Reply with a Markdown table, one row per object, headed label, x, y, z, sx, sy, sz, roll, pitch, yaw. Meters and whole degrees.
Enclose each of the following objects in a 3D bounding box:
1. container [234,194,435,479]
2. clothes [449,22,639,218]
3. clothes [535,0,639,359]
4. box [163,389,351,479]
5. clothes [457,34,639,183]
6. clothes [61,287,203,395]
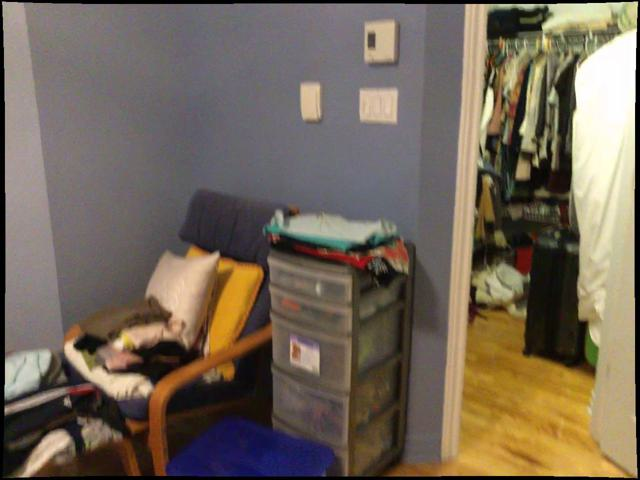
| label | x | y | z | sx | sy | sz | roll | pitch | yaw |
| --- | --- | --- | --- | --- | --- | --- | --- | --- | --- |
| container | 0.060 | 0.370 | 2.060 | 0.500 | 0.961 | 0.450 | 12 | 20 | 40 |
| clothes | 1.538 | -0.821 | 3.910 | 1.099 | 1.111 | 0.630 | 12 | 20 | 40 |
| clothes | 1.329 | -0.270 | 2.700 | 0.360 | 1.521 | 0.460 | 12 | 20 | 40 |
| box | -0.200 | 0.761 | 1.870 | 0.470 | 0.290 | 0.370 | 12 | 20 | 40 |
| clothes | 1.528 | -0.891 | 3.880 | 0.949 | 0.841 | 0.670 | 12 | 20 | 40 |
| clothes | -0.669 | 0.340 | 2.060 | 0.400 | 0.190 | 0.300 | 12 | 20 | 40 |
